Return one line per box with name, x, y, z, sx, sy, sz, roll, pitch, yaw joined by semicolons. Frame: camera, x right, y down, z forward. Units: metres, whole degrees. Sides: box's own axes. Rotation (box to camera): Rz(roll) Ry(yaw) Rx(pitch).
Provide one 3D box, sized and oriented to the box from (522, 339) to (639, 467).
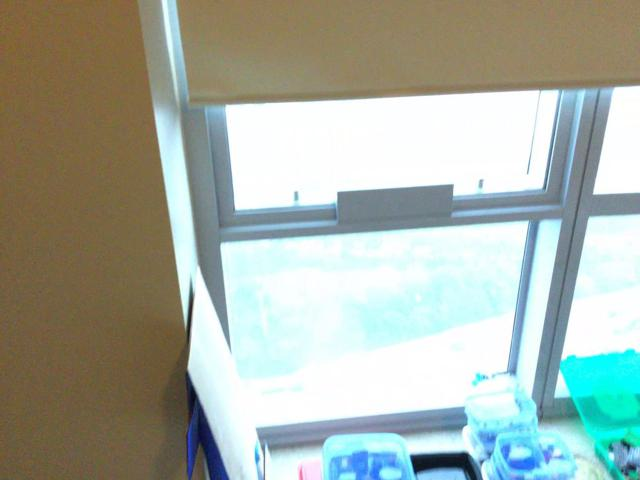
box;0.960;0.540;1.970;0.380;0.200;0.340;-6;24;-9
